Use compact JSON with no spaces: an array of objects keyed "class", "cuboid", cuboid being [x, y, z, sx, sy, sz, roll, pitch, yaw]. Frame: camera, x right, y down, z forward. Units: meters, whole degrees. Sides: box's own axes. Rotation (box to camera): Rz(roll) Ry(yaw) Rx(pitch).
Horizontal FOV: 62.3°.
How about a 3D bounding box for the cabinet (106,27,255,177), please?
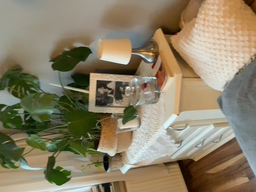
[{"class":"cabinet","cuboid":[0.400,0.150,1.720,1.200,0.820,0.570,119,142,-52]}]
